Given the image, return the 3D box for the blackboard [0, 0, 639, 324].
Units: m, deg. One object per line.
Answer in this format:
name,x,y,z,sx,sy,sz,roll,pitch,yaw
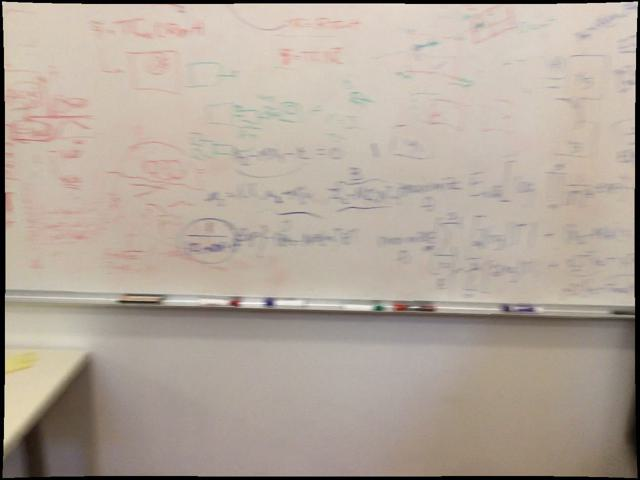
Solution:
blackboard,-0.170,-0.390,1.730,2.837,1.301,0.100,1,15,-4
